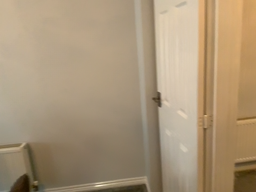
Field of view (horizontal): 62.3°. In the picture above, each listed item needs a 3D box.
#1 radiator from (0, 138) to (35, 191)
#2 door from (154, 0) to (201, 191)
[{"bbox_3d":[-1.240,0.660,1.910,0.670,0.490,0.120,-5,14,-3],"label":"radiator"},{"bbox_3d":[0.300,0.080,1.390,0.040,1.930,0.660,-6,14,-6],"label":"door"}]
